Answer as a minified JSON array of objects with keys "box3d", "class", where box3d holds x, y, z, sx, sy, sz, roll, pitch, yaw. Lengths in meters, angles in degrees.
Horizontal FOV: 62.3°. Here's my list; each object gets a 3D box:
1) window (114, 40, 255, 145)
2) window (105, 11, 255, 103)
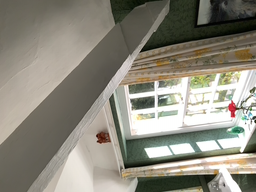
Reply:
[{"box3d":[0.550,0.010,2.220,0.370,1.250,0.940,-98,0,-46],"class":"window"},{"box3d":[0.580,-0.280,1.420,0.350,1.400,0.320,82,180,-55],"class":"window"}]
